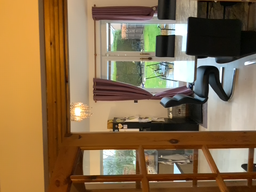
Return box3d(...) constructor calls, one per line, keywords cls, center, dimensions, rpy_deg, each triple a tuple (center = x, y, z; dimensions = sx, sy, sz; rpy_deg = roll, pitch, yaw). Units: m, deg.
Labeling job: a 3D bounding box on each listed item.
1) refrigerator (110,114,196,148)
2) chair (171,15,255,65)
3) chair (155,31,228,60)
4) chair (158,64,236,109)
box3d(cls="refrigerator", center=(0.520, 0.760, 4.750), dimensions=(0.560, 1.820, 0.600), rpy_deg=(-115, 26, -82))
box3d(cls="chair", center=(1.090, -0.620, 2.510), dimensions=(0.630, 0.990, 0.440), rpy_deg=(-126, 37, -84))
box3d(cls="chair", center=(1.020, -0.850, 3.590), dimensions=(0.650, 1.000, 0.420), rpy_deg=(-103, 14, -76))
box3d(cls="chair", center=(1.030, -0.160, 3.290), dimensions=(0.460, 1.010, 0.630), rpy_deg=(-112, 23, -81))
